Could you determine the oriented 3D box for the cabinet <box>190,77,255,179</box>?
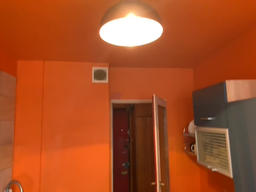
[{"bbox_3d":[0.870,0.270,1.900,0.350,0.740,0.670,0,-8,-5],"label":"cabinet"}]
